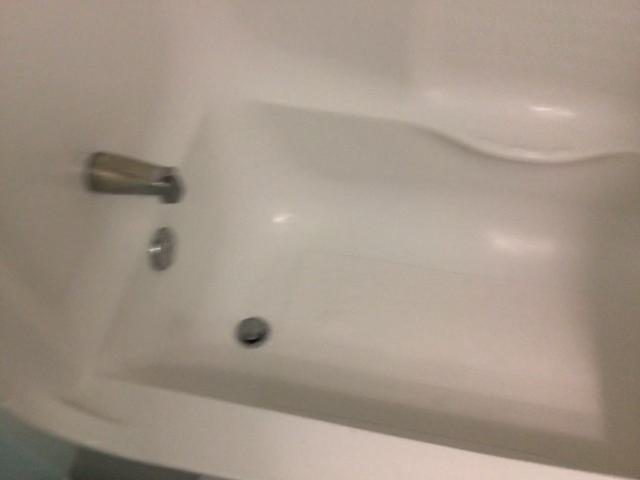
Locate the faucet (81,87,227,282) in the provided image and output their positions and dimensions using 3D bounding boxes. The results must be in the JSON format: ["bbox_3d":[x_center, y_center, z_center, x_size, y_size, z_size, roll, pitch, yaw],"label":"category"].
[{"bbox_3d":[-0.270,-0.090,1.010,0.140,0.260,0.200,9,55,4],"label":"faucet"}]
